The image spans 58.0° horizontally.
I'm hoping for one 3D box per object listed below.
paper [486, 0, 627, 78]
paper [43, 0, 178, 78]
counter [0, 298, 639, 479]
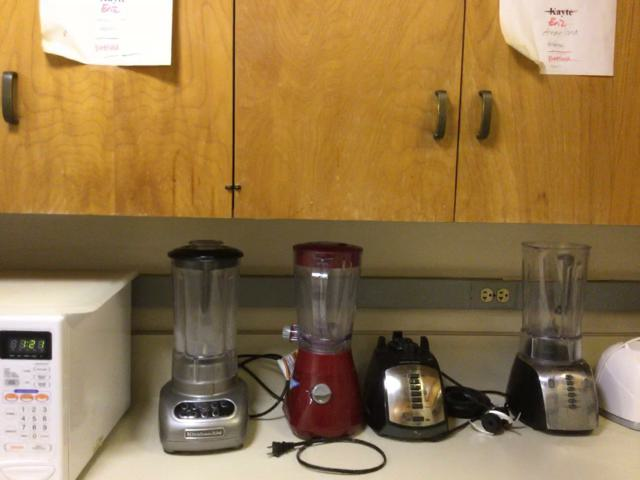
[{"bbox_3d":[0.410,-0.430,0.990,0.230,0.280,0.030,2,5,-6],"label":"paper"},{"bbox_3d":[-0.330,-0.410,0.920,0.200,0.280,0.040,2,5,-6],"label":"paper"},{"bbox_3d":[0.420,0.340,1.050,2.750,0.300,0.720,2,5,-6],"label":"counter"}]
